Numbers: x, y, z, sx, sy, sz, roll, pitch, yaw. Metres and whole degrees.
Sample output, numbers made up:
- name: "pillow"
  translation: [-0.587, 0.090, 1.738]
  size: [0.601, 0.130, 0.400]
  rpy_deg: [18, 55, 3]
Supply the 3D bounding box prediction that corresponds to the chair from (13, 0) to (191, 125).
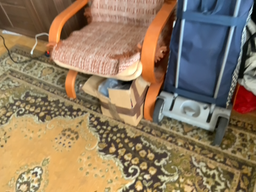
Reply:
- name: "chair"
  translation: [-0.050, -0.520, 1.250]
  size: [0.660, 0.970, 0.810]
  rpy_deg: [15, 51, 22]
